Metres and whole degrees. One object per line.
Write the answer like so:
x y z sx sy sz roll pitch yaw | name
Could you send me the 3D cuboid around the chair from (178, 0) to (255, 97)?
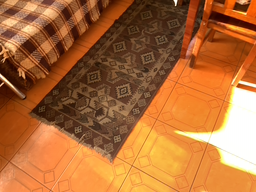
0.650 -0.510 1.250 0.380 0.870 0.560 25 62 17 | chair
